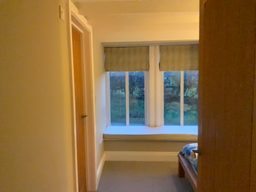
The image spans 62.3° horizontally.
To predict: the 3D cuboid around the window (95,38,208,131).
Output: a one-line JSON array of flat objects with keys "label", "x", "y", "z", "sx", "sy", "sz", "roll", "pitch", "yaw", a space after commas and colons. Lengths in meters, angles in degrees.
[{"label": "window", "x": 0.430, "y": -0.200, "z": 4.080, "sx": 2.090, "sy": 1.720, "sz": 0.130, "roll": 0, "pitch": 6, "yaw": 5}]
